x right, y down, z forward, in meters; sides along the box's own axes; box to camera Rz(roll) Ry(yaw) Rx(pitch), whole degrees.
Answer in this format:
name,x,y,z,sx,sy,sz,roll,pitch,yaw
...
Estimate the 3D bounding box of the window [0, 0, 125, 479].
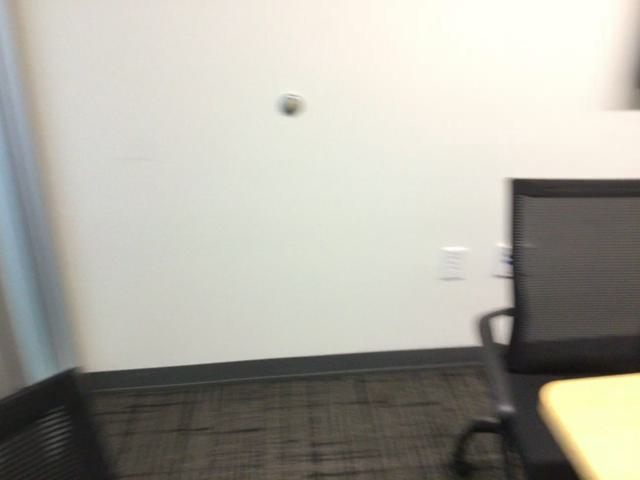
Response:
name,x,y,z,sx,sy,sz,roll,pitch,yaw
window,-0.820,-0.010,1.610,0.180,1.390,0.440,-3,24,0
